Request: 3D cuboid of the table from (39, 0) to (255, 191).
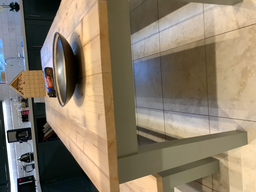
[{"bbox_3d":[-0.190,-0.120,1.770,2.130,0.790,0.820,1,97,63],"label":"table"}]
